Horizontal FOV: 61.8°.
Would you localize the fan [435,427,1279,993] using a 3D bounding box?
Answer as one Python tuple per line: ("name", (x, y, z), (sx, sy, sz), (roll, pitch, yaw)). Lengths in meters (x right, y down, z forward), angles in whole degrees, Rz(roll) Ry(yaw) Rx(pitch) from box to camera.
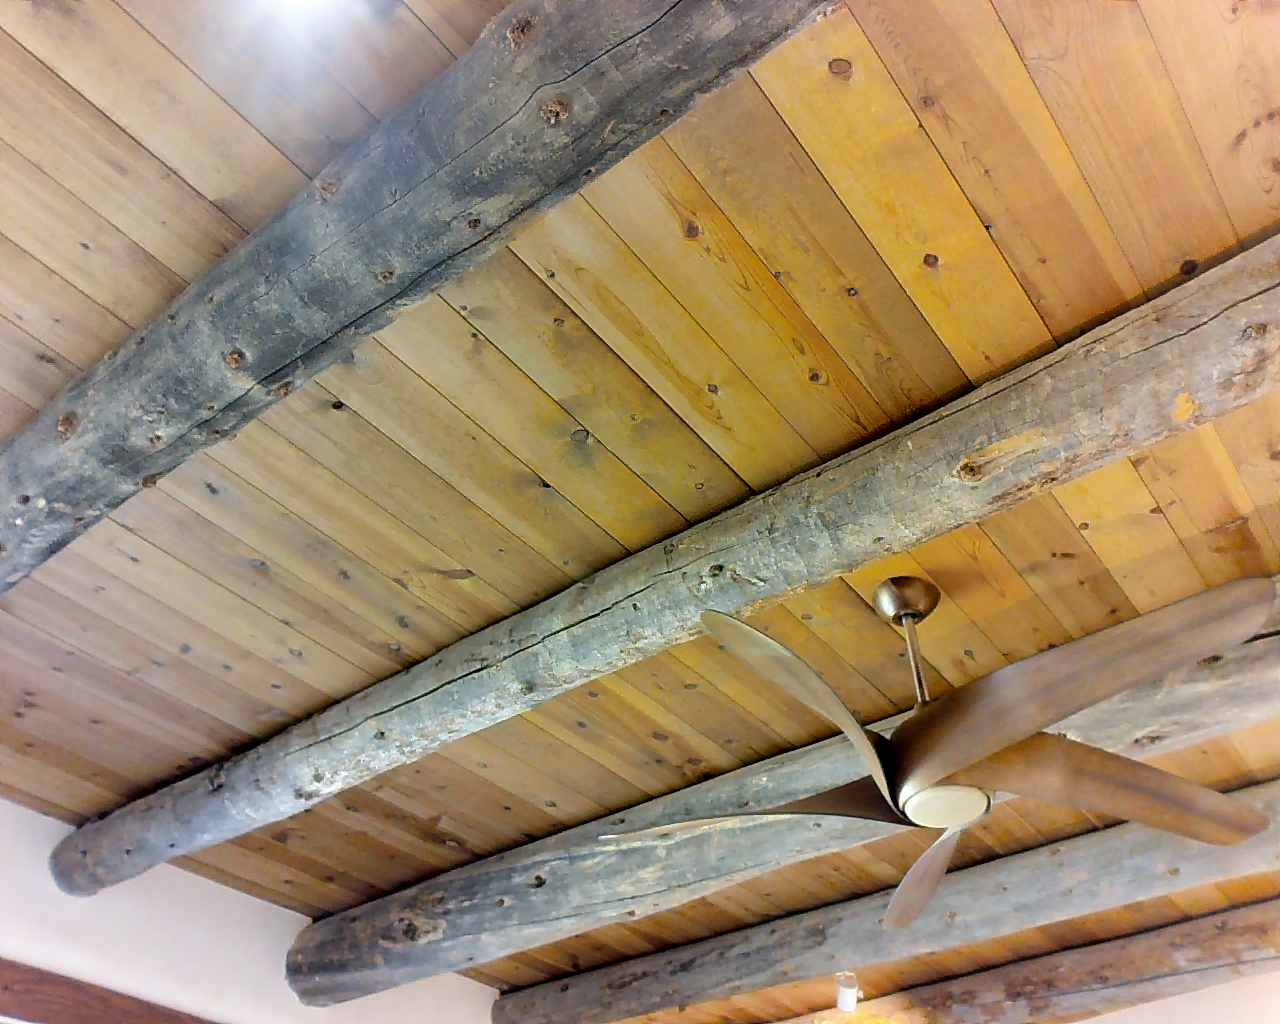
("fan", (0.570, 0.580, 2.310), (1.489, 0.270, 1.540), (-10, -43, 11))
